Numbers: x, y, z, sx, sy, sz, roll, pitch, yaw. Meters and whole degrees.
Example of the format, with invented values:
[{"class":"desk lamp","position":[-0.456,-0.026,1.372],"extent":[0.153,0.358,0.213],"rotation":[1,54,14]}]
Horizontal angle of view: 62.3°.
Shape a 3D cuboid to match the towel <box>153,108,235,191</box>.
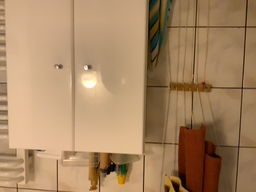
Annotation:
[{"class":"towel","position":[0.210,0.480,0.820],"extent":[0.220,0.820,0.300],"rotation":[2,-174,6]}]
